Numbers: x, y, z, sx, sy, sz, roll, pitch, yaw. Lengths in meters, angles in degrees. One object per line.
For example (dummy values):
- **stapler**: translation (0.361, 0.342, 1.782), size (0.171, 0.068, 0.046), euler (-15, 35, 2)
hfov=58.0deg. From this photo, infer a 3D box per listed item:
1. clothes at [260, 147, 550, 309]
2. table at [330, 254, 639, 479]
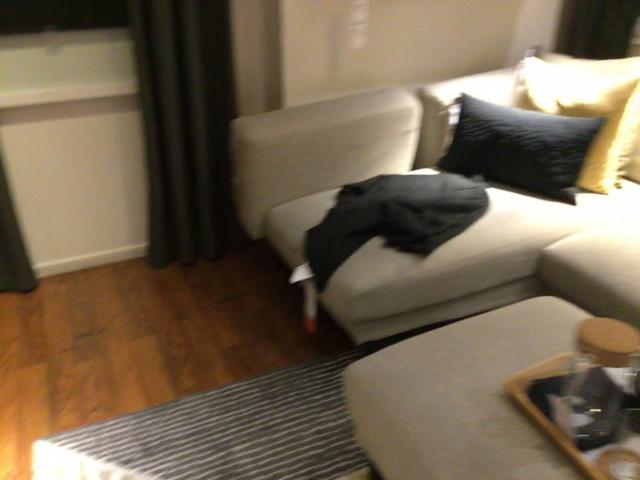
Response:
- **clothes**: translation (0.280, -0.100, 2.190), size (0.820, 0.210, 0.710), euler (-13, 27, -19)
- **table**: translation (0.580, 0.550, 1.230), size (0.740, 0.520, 1.040), euler (-13, 27, -19)
